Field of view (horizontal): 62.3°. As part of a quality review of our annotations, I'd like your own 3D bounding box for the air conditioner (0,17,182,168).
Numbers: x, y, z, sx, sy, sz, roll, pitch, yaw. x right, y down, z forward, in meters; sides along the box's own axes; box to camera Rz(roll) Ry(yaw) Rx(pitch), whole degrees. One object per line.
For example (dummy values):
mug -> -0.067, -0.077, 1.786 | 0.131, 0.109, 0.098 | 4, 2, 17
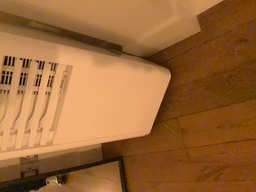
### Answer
air conditioner -> -0.250, -0.060, 0.900 | 0.510, 0.830, 0.370 | 25, 105, 41
